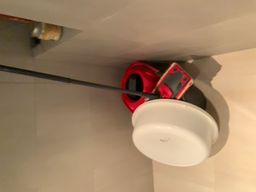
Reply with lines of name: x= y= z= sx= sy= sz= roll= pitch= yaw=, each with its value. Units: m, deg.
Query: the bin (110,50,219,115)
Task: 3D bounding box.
bin: x=0.190 y=-0.050 z=1.200 sx=0.490 sy=0.350 sz=0.280 roll=-3 pitch=88 yaw=47

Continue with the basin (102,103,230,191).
basin: x=0.190 y=0.220 z=1.160 sx=0.540 sy=0.420 sz=0.340 roll=-1 pitch=90 yaw=47
